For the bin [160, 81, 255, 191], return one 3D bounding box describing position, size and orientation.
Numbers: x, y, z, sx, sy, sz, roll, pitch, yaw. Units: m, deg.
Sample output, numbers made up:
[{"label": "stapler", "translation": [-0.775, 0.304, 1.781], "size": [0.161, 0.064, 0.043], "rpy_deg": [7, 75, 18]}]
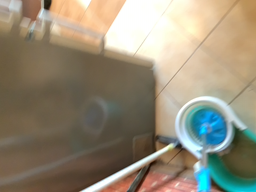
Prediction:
[{"label": "bin", "translation": [0.440, 0.210, 1.000], "size": [0.310, 0.220, 0.450], "rpy_deg": [-46, 64, 27]}]
